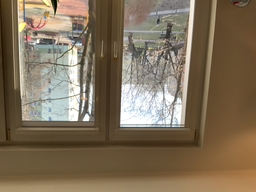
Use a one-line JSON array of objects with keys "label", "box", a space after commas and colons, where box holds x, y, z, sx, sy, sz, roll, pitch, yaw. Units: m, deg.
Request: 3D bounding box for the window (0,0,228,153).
[{"label": "window", "box": [-0.490, -0.330, 1.700, 2.590, 1.590, 0.130, 1, -172, -8]}]
